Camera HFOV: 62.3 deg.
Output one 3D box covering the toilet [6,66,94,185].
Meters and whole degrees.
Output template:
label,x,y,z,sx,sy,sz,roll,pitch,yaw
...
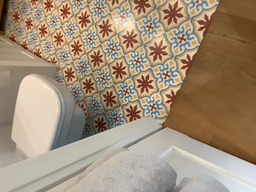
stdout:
label,x,y,z,sx,sy,sz,roll,pitch,yaw
toilet,-0.460,0.150,1.210,0.340,0.210,0.540,30,111,26
